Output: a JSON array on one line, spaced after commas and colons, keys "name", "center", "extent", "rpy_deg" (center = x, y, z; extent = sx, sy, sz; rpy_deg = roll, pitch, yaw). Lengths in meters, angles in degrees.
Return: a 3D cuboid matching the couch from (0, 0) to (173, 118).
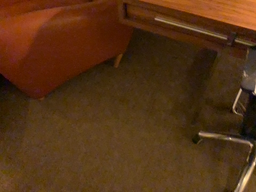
[{"name": "couch", "center": [-0.410, -0.580, 1.440], "extent": [1.080, 0.770, 0.850], "rpy_deg": [-21, 56, -13]}]
